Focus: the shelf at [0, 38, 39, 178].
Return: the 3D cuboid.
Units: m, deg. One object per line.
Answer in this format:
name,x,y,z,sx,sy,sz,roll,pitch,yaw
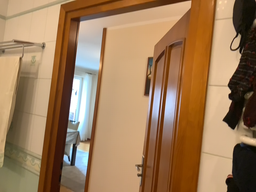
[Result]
shelf,-0.960,0.070,1.580,0.540,0.890,0.220,5,-2,38
